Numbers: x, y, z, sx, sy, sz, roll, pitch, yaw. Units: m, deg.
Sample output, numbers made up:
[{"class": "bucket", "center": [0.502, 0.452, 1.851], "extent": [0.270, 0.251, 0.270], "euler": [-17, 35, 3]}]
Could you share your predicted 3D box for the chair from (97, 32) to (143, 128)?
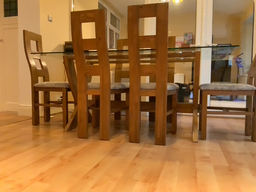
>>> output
[{"class": "chair", "center": [-0.080, -0.190, 2.610], "extent": [0.390, 1.020, 0.590], "euler": [2, 5, 16]}]

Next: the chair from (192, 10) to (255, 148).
[{"class": "chair", "center": [0.910, -0.140, 1.900], "extent": [0.610, 1.050, 0.500], "euler": [2, 5, 15]}]

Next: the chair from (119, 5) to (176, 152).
[{"class": "chair", "center": [0.200, -0.140, 1.850], "extent": [0.400, 1.050, 0.600], "euler": [2, 5, 13]}]
